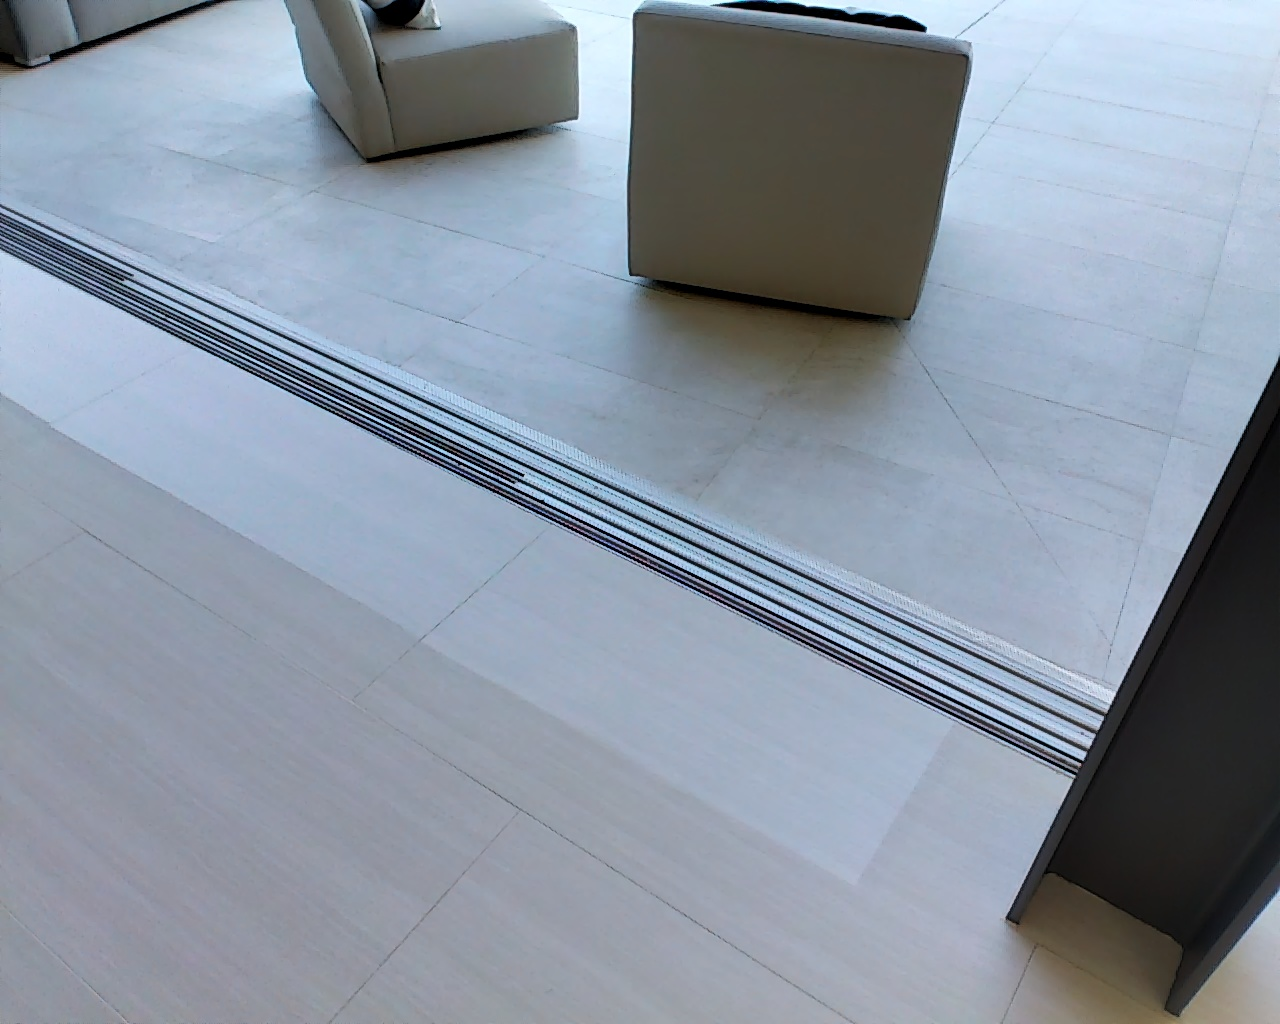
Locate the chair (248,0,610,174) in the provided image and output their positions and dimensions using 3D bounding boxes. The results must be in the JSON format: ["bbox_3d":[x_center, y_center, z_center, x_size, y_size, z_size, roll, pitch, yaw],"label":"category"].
[{"bbox_3d":[-0.800,-1.890,3.920,1.050,0.770,0.970,-19,46,-21],"label":"chair"}]

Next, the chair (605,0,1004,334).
[{"bbox_3d":[0.490,-1.180,3.140,0.940,0.780,0.960,12,43,11],"label":"chair"}]
